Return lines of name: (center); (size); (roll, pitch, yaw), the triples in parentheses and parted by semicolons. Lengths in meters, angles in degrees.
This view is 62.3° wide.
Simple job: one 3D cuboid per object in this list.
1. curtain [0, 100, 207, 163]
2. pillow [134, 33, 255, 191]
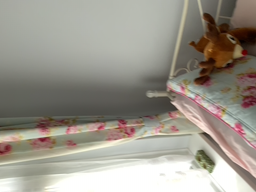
curtain: (-0.420, 0.180, 1.140); (0.270, 1.820, 0.150); (-123, 37, -56)
pillow: (0.540, 0.030, 1.030); (0.940, 0.500, 0.420); (38, 129, 42)
